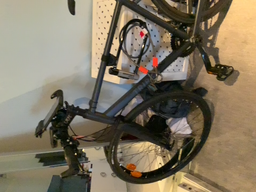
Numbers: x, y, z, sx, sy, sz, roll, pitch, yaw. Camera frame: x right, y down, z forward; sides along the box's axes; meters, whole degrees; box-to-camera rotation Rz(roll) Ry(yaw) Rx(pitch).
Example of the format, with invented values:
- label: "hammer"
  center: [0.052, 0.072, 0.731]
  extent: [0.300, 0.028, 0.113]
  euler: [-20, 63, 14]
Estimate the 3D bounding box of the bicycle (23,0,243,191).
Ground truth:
- label: "bicycle"
  center: [0.030, -0.260, 1.150]
  extent: [0.650, 0.930, 1.780]
  euler: [22, 112, 46]
